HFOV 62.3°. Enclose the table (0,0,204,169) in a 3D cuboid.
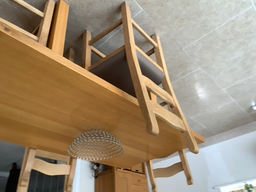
[{"bbox_3d":[-0.270,-0.050,1.630,0.940,0.740,1.590,-27,141,30],"label":"table"}]
